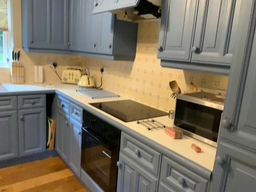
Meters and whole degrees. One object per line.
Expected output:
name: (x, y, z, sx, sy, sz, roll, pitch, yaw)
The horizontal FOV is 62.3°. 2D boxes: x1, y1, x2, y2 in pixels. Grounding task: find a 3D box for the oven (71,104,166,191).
oven: (-0.120, 0.580, 1.960, 0.580, 0.850, 0.600, -5, 15, -38)
